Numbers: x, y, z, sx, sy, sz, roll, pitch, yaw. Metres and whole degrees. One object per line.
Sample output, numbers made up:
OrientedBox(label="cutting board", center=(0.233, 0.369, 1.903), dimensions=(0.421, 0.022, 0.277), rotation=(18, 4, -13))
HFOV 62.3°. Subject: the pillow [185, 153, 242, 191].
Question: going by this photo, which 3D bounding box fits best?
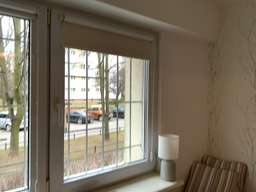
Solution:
OrientedBox(label="pillow", center=(0.740, 0.730, 1.850), dimensions=(0.310, 0.320, 0.350), rotation=(0, 2, -41))
